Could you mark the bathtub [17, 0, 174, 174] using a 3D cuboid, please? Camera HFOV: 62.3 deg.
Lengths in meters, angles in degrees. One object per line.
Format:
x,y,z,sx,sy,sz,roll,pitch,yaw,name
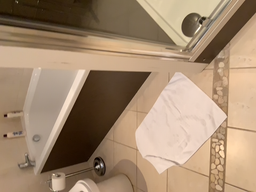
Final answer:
-0.460,-0.080,1.890,1.650,0.580,0.710,-54,54,36,bathtub
